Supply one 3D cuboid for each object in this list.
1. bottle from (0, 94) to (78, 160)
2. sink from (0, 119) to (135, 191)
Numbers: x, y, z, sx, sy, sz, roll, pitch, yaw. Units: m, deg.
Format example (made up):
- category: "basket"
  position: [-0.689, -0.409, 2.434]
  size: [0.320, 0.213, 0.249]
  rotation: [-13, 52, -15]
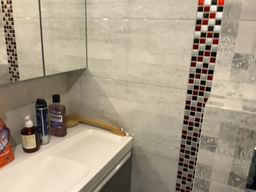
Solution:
- category: "bottle"
  position: [-0.420, 0.130, 1.070]
  size: [0.100, 0.180, 0.400]
  rotation: [10, 18, 23]
- category: "sink"
  position: [-0.380, 0.350, 0.820]
  size: [0.450, 0.110, 0.990]
  rotation: [10, 18, 24]
